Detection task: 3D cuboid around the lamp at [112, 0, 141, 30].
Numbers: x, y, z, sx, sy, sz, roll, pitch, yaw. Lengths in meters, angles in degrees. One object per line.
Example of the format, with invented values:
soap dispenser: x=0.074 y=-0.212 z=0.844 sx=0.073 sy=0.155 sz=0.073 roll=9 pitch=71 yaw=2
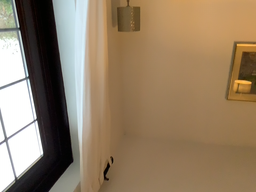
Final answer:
lamp: x=-0.010 y=-0.840 z=1.680 sx=0.200 sy=0.590 sz=0.210 roll=2 pitch=-159 yaw=9
